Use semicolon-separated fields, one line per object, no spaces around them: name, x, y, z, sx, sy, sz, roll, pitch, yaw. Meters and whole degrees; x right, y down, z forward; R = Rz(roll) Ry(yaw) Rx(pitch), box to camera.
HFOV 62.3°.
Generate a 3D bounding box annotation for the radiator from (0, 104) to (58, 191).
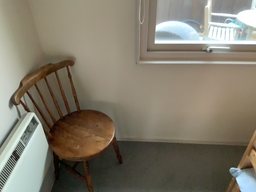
radiator;-0.550;0.450;1.030;0.130;0.540;0.640;0;38;1
